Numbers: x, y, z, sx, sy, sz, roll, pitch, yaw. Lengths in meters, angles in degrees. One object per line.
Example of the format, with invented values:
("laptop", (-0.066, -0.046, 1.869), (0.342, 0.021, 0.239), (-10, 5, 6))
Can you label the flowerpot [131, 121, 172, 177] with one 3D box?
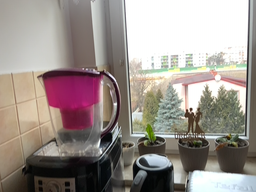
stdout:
("flowerpot", (0.130, 0.280, 1.150), (0.200, 0.250, 0.150), (-2, 9, 8))
